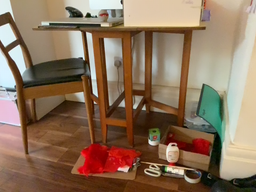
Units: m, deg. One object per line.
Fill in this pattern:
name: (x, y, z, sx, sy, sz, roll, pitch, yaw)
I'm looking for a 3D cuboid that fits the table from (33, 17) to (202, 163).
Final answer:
table: (0.000, -0.120, 1.420, 0.860, 0.720, 0.600, 7, 26, 16)
